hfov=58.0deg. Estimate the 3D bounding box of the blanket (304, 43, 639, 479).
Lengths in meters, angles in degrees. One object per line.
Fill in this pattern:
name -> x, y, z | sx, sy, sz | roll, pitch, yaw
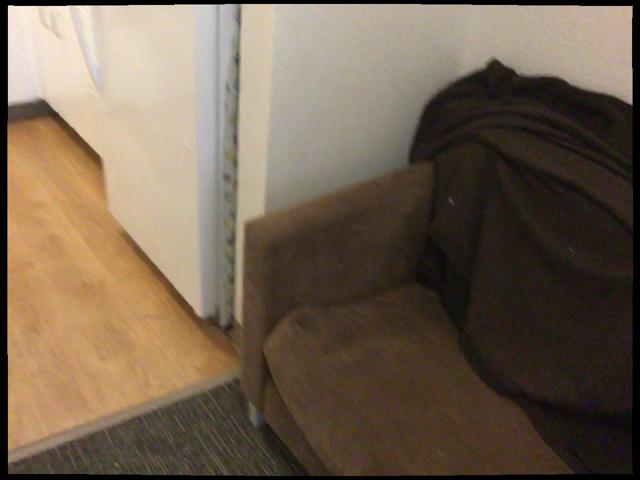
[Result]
blanket -> 0.609, 0.060, 1.270 | 0.559, 0.521, 1.360 | -20, 43, -32
